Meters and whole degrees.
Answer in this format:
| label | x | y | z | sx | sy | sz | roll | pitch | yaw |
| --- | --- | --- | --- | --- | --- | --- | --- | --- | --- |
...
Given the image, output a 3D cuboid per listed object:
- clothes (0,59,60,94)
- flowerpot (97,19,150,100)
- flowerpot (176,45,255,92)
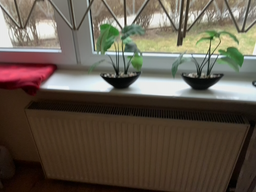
| label | x | y | z | sx | sy | sz | roll | pitch | yaw |
| --- | --- | --- | --- | --- | --- | --- | --- | --- | --- |
| clothes | -0.660 | -0.120 | 1.190 | 0.460 | 0.080 | 0.280 | 1 | 31 | 3 |
| flowerpot | -0.010 | -0.200 | 1.120 | 0.210 | 0.350 | 0.230 | 6 | 32 | 11 |
| flowerpot | 0.450 | -0.150 | 1.120 | 0.360 | 0.190 | 0.130 | 5 | 32 | 10 |
